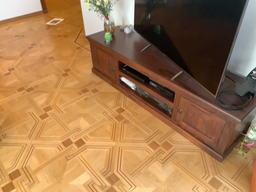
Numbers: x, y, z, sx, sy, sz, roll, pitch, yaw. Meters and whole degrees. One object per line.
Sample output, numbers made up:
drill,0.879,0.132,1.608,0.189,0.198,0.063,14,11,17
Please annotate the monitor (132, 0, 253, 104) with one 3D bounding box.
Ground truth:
monitor,0.320,-0.630,1.640,0.070,0.750,1.320,-14,41,-17
